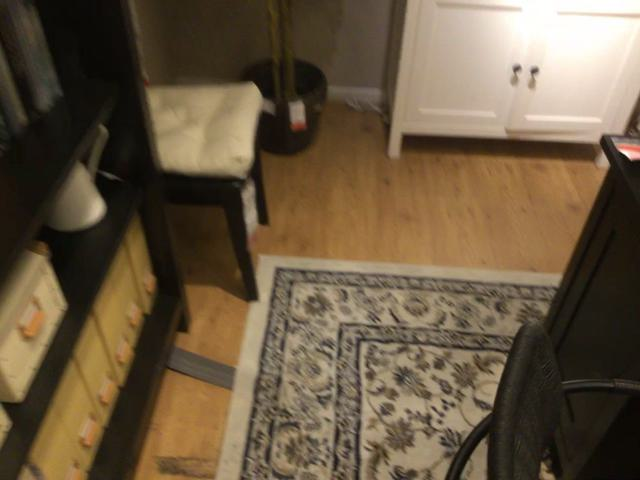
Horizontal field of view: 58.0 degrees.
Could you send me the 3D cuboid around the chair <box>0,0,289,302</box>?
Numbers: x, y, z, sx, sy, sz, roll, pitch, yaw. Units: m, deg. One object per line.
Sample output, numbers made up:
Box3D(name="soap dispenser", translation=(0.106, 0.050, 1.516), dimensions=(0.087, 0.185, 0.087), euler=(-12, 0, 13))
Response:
Box3D(name="chair", translation=(-0.420, -0.300, 1.570), dimensions=(0.550, 0.790, 0.510), euler=(2, 42, 6))
